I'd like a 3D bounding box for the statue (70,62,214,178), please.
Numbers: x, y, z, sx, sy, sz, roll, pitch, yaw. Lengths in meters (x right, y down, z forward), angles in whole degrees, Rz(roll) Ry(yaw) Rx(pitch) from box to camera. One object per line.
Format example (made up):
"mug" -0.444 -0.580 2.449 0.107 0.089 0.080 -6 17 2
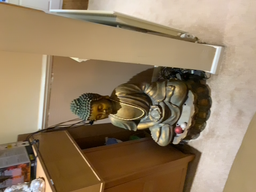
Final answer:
"statue" 0.080 0.100 1.540 0.560 0.780 0.530 31 116 49
